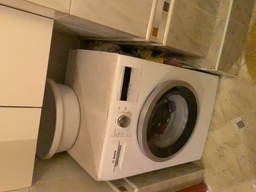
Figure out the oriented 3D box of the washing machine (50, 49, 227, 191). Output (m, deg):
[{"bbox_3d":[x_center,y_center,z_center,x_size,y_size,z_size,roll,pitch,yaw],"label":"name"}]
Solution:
[{"bbox_3d":[0.060,0.080,1.420,0.690,0.850,0.590,18,100,49],"label":"washing machine"}]
